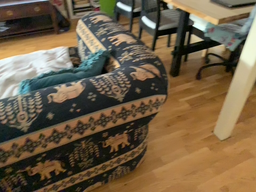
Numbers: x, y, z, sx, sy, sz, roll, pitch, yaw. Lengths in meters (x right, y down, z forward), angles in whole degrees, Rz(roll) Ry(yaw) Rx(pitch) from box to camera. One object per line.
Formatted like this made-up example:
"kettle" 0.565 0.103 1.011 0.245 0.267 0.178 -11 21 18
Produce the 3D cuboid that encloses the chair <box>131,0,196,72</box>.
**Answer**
"chair" 0.340 -0.810 2.230 0.480 0.940 0.430 -14 41 -17

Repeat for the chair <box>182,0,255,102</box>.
"chair" 0.950 -0.580 1.880 0.540 1.020 0.560 -18 42 -21

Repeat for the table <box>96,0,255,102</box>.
"table" 0.500 -1.050 2.690 1.040 0.740 2.380 -18 42 -21

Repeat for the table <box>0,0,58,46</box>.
"table" -1.600 -1.020 2.840 1.110 0.480 0.430 -17 42 -20
